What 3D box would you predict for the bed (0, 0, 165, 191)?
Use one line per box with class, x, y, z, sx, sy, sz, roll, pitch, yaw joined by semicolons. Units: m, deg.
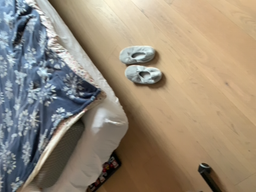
bed;-0.940;-0.120;1.880;1.520;0.480;2.120;-50;63;27
